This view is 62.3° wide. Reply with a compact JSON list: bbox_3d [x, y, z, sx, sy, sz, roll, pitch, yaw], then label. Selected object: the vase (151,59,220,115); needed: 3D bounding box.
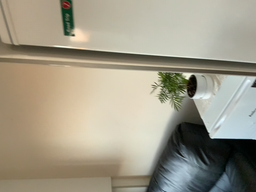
[{"bbox_3d":[0.310,-0.050,1.210,0.180,0.280,0.250,-102,17,-53],"label":"vase"}]
